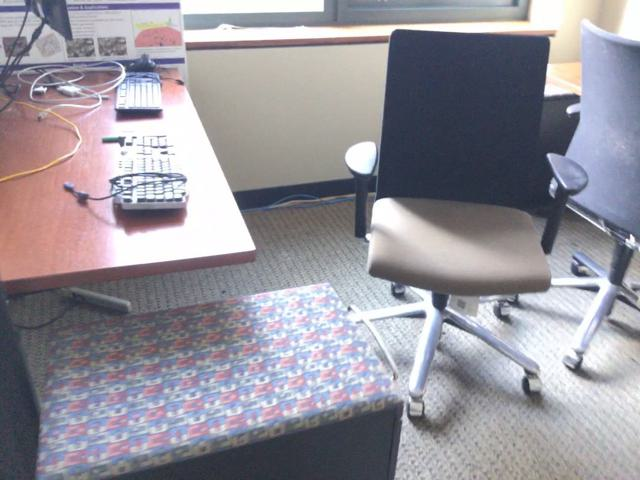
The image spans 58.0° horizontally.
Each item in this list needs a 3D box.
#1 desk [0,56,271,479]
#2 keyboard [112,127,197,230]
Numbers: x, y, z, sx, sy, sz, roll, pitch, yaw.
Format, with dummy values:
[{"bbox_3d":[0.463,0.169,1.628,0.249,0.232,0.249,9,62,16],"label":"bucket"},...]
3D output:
[{"bbox_3d":[-0.690,-0.010,1.810,0.700,0.760,1.540,-8,31,-16],"label":"desk"},{"bbox_3d":[-0.420,-0.170,1.420,0.160,0.050,0.500,-8,31,-16],"label":"keyboard"}]
